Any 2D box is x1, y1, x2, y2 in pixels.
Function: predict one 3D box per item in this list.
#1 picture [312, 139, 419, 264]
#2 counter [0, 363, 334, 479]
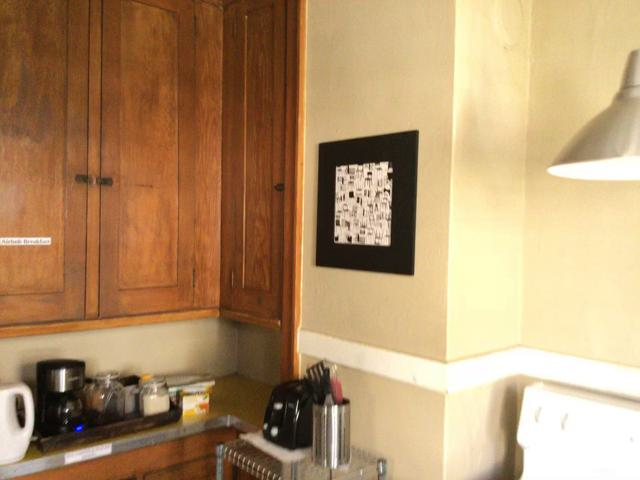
[{"bbox_3d":[0.140,-0.120,1.930,0.050,0.380,0.420,1,0,-44],"label":"picture"},{"bbox_3d":[-0.700,0.720,2.290,1.470,0.170,0.660,1,0,-44],"label":"counter"}]
